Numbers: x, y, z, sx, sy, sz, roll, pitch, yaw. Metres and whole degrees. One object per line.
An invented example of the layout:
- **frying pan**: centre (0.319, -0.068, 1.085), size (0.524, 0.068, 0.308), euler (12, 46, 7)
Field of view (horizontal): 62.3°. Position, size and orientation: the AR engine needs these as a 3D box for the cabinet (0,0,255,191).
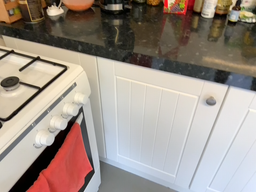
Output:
- **cabinet**: centre (0.400, 0.090, 1.170), size (2.060, 0.920, 0.610), euler (15, 43, 17)
